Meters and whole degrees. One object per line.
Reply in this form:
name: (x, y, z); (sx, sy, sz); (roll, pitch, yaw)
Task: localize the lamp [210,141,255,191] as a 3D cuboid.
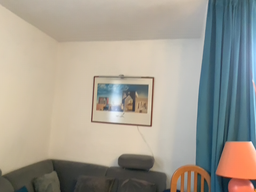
lamp: (0.730, 0.590, 1.390); (0.330, 0.530, 0.220); (2, -5, 14)
